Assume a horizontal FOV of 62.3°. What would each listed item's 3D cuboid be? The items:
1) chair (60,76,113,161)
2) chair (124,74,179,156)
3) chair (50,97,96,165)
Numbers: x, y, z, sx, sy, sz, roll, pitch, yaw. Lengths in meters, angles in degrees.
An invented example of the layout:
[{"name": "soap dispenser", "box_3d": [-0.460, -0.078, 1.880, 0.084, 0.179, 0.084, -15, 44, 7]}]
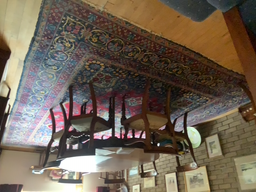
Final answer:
[{"name": "chair", "box_3d": [-0.480, 0.300, 2.700, 0.430, 0.890, 0.550, -9, 152, 13]}, {"name": "chair", "box_3d": [0.260, 0.260, 2.710, 0.440, 0.870, 0.500, 10, 150, -23]}, {"name": "chair", "box_3d": [-0.800, 0.530, 3.140, 0.530, 0.870, 0.430, 9, 150, -21]}]
